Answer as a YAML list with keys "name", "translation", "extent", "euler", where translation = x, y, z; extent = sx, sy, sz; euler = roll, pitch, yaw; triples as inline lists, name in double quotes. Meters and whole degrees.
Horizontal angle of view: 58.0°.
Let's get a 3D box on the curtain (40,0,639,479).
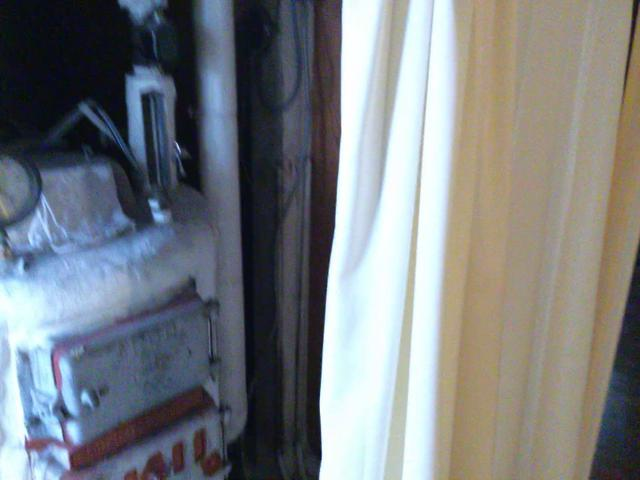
- name: "curtain"
  translation: [0.300, 0.240, 0.960]
  extent: [0.310, 1.980, 1.240]
  euler: [15, 24, 36]
